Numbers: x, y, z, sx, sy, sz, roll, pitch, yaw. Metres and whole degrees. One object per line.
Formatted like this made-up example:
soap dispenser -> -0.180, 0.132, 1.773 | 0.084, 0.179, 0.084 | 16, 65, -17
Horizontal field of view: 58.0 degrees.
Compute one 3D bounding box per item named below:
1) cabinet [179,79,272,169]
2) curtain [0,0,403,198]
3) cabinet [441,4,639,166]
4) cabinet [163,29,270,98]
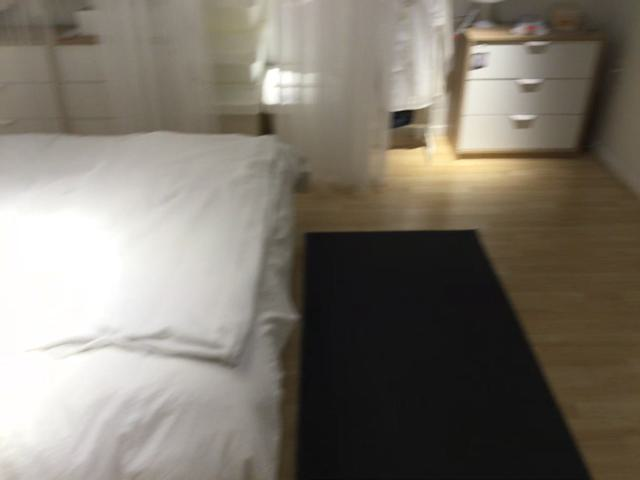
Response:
cabinet -> -0.500, -0.630, 3.150 | 0.440, 0.440, 0.200 | 0, 31, 1
curtain -> -0.860, -1.320, 2.370 | 2.420, 2.470, 0.190 | 0, 31, 1
cabinet -> 1.140, -0.850, 3.160 | 0.800, 0.740, 0.500 | 0, 31, 1
cabinet -> -0.520, -0.910, 2.980 | 0.490, 0.300, 0.210 | 0, 31, 1
